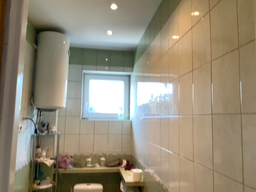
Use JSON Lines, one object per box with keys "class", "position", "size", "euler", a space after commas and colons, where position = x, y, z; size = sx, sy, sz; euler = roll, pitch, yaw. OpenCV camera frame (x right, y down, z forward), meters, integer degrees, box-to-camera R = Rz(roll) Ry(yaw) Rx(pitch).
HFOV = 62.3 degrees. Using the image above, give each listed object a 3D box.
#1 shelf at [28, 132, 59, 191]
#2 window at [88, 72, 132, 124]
{"class": "shelf", "position": [-1.030, 1.120, 2.550], "size": [0.260, 1.340, 0.260], "euler": [2, -6, -9]}
{"class": "window", "position": [-0.280, 0.040, 3.380], "size": [0.660, 0.800, 0.120], "euler": [2, -6, -9]}
